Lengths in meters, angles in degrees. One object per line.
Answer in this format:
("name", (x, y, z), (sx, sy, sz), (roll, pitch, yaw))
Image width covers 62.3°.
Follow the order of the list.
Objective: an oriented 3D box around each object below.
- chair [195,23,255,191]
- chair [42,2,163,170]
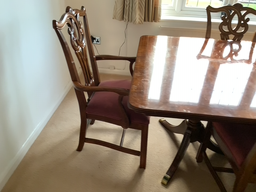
("chair", (0.770, 0.210, 1.120), (0.530, 0.990, 0.590), (5, 32, 4))
("chair", (-0.110, -0.080, 1.520), (0.590, 0.980, 0.600), (6, 32, 5))
